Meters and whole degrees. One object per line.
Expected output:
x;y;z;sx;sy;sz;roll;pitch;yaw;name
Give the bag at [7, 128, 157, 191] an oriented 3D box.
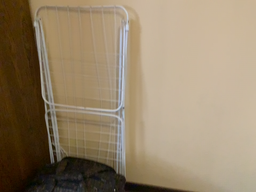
-0.190;0.560;1.160;0.630;0.430;0.600;6;26;9;bag
